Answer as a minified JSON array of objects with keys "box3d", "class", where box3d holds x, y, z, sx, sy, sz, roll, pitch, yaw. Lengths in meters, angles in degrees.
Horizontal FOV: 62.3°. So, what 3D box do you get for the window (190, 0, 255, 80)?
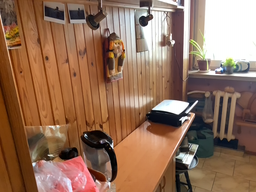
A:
[{"box3d":[1.140,-0.770,2.290,0.850,1.170,0.120,6,20,26],"class":"window"}]
